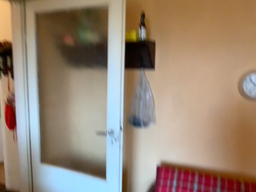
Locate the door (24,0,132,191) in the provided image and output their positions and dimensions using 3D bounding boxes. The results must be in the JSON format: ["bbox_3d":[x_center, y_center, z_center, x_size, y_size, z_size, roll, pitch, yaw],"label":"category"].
[{"bbox_3d":[-0.400,0.310,1.590,0.830,2.010,0.110,5,9,25],"label":"door"}]
